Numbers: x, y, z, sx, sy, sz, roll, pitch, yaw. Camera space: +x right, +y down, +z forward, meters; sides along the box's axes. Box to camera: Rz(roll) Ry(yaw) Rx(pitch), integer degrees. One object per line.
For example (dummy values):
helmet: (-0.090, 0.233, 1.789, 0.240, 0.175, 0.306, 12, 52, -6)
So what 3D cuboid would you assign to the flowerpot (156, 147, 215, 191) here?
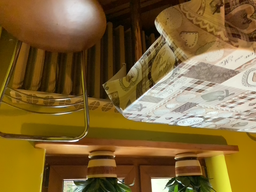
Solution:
flowerpot: (0.370, 0.530, 1.390, 0.250, 0.330, 0.240, 10, 154, -25)

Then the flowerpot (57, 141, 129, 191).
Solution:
flowerpot: (-0.190, 0.440, 1.160, 0.340, 0.330, 0.190, 10, 154, -25)
